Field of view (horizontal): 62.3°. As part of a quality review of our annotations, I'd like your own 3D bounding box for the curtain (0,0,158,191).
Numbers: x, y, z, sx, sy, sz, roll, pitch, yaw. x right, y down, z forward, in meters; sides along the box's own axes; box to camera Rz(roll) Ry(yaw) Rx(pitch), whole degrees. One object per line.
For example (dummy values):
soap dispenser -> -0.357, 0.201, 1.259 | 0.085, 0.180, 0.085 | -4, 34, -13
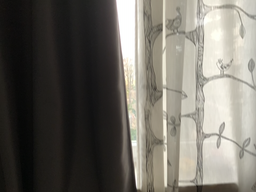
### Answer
curtain -> -0.350, -0.100, 0.920 | 0.930, 2.260, 0.160 | -1, 10, -4
